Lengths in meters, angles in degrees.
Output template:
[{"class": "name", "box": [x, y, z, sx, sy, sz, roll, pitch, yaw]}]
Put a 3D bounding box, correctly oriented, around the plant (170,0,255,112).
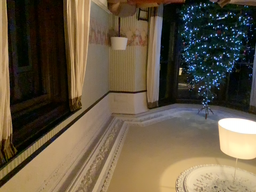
[{"class": "plant", "box": [2.160, -1.320, 5.680, 1.620, 3.150, 1.390, 2, -168, 3]}]
